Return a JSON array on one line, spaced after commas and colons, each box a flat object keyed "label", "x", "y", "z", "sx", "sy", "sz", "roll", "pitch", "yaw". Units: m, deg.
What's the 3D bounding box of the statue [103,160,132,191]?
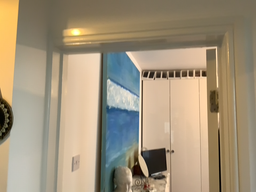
[{"label": "statue", "x": -0.090, "y": 0.830, "z": 1.950, "sx": 0.180, "sy": 0.390, "sz": 0.360, "roll": -1, "pitch": -6, "yaw": 12}]
